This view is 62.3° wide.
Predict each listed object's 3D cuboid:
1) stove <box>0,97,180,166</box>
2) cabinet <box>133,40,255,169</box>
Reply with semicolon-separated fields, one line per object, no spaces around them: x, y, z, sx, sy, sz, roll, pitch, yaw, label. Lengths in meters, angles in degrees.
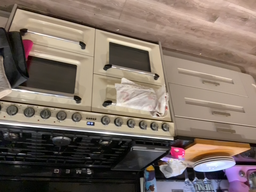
-0.310;0.300;1.430;1.110;0.160;0.630;9;146;-20;stove
0.720;0.140;2.010;1.140;0.910;0.610;9;146;-20;cabinet
